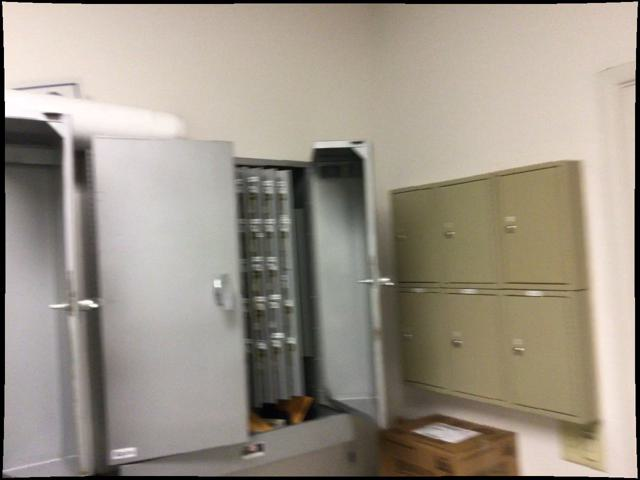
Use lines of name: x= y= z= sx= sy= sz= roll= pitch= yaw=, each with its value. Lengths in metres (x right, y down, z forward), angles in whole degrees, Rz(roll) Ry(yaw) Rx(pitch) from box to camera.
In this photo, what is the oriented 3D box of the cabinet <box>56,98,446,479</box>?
cabinet: x=-0.160 y=0.140 z=1.420 sx=0.789 sy=0.781 sz=0.450 roll=-2 pitch=-2 yaw=-35
